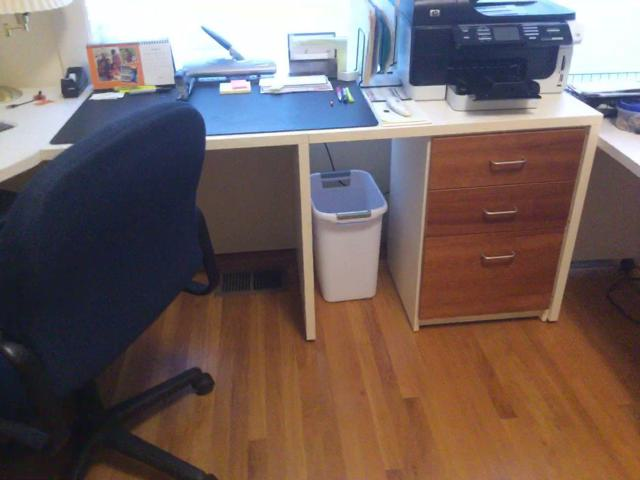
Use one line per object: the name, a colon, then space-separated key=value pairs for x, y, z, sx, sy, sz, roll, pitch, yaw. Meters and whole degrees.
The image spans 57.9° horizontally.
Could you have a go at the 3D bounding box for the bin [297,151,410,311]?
bin: x=0.100 y=-0.050 z=2.110 sx=0.320 sy=0.400 sz=0.460 roll=-4 pitch=28 yaw=-6

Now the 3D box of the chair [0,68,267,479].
chair: x=-0.590 y=0.200 z=1.270 sx=0.650 sy=0.960 sz=0.660 roll=12 pitch=30 yaw=23

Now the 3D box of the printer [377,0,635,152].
printer: x=0.500 y=-0.570 z=1.780 sx=0.520 sy=0.390 sz=0.610 roll=-4 pitch=28 yaw=-6
